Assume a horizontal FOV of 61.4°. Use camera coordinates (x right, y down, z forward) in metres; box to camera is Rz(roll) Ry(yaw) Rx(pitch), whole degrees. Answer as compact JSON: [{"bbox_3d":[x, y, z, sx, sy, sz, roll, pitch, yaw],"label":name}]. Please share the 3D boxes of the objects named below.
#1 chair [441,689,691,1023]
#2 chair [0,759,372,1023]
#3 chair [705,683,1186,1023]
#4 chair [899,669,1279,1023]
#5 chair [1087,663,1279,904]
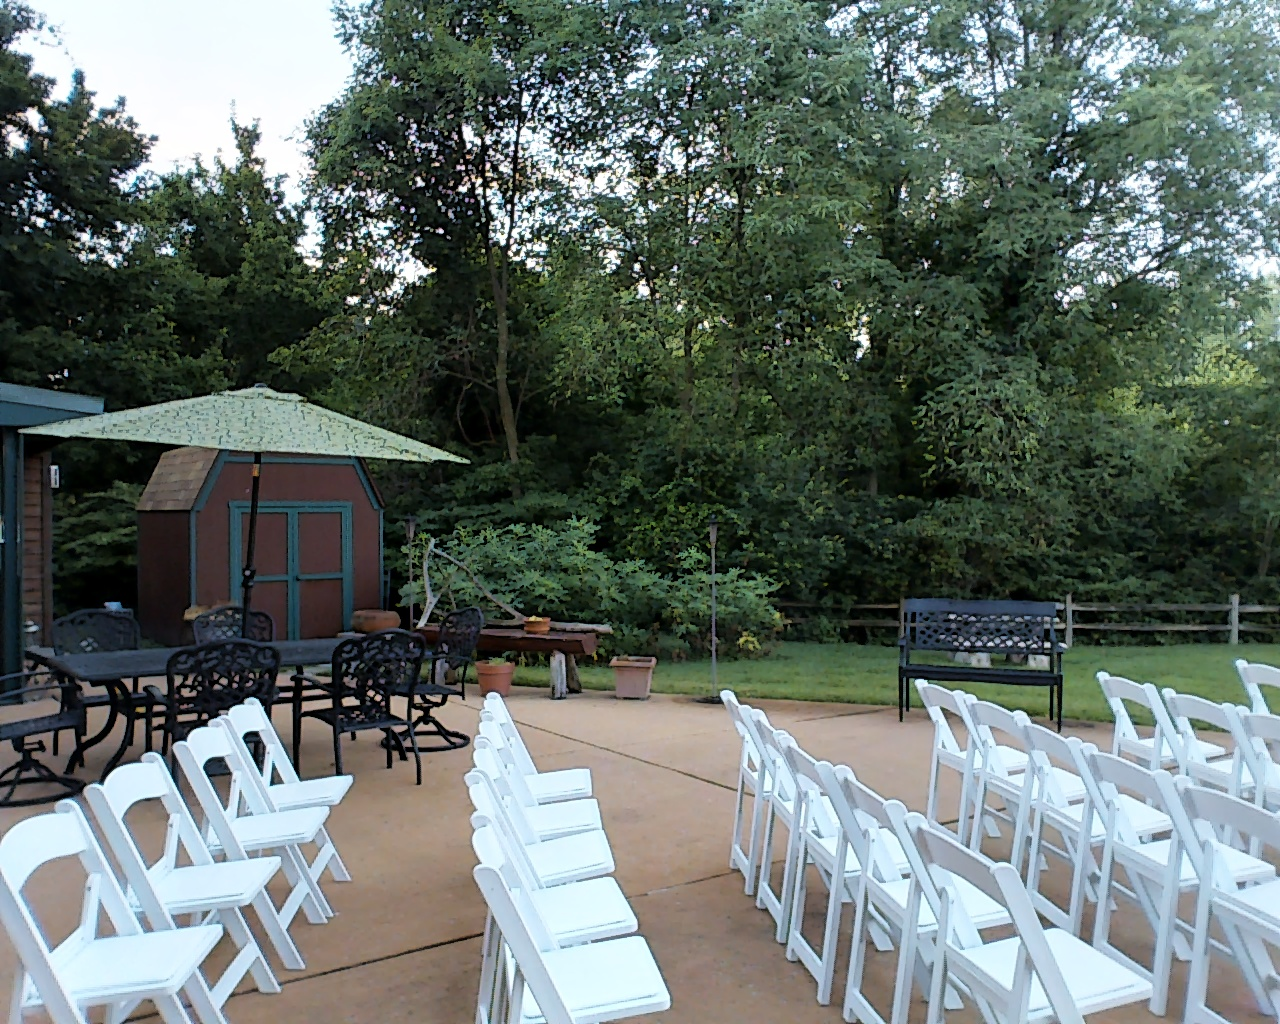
[{"bbox_3d":[-0.320,1.140,3.620,0.560,0.710,2.420,0,0,-7],"label":"chair"},{"bbox_3d":[-1.370,1.300,3.570,0.510,0.470,2.220,0,0,-3],"label":"chair"},{"bbox_3d":[0.790,1.160,3.720,0.590,0.750,2.510,0,0,-9],"label":"chair"},{"bbox_3d":[1.780,1.170,4.170,0.630,0.760,2.570,0,0,-7],"label":"chair"},{"bbox_3d":[2.839,1.190,4.490,0.560,0.780,2.560,0,0,-9],"label":"chair"}]
